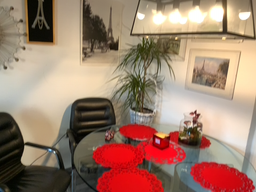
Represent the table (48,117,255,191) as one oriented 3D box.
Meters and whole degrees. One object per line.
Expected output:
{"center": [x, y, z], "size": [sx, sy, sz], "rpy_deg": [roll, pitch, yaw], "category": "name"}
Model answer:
{"center": [0.130, 0.770, 1.650], "size": [1.070, 0.750, 1.170], "rpy_deg": [-6, 16, -39], "category": "table"}
